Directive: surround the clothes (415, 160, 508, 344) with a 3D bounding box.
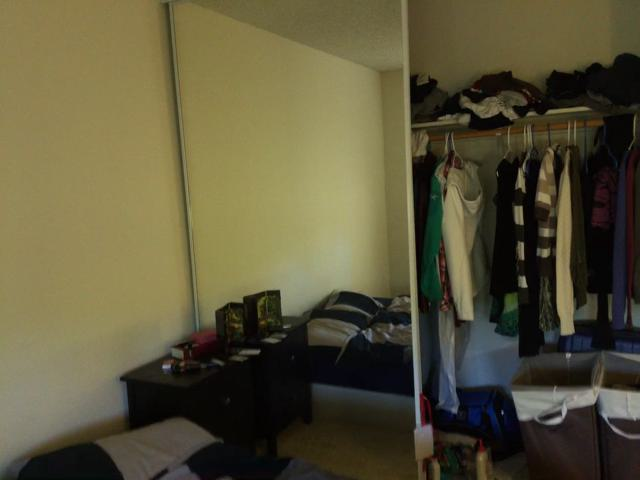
[{"bbox_3d":[0.730,0.030,2.900,0.260,0.830,0.600,-3,5,28],"label":"clothes"}]

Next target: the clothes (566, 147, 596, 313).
[{"bbox_3d":[1.170,-0.060,2.580,0.060,0.690,0.400,-3,5,28],"label":"clothes"}]

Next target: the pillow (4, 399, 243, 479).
[{"bbox_3d":[-0.690,0.820,2.110,0.400,0.160,0.810,-2,5,29],"label":"pillow"}]

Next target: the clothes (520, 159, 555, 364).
[{"bbox_3d":[1.000,0.090,2.650,0.070,0.910,0.230,-3,5,28],"label":"clothes"}]

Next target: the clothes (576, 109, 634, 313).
[{"bbox_3d":[1.260,-0.130,2.540,0.180,0.820,0.410,-3,5,28],"label":"clothes"}]
